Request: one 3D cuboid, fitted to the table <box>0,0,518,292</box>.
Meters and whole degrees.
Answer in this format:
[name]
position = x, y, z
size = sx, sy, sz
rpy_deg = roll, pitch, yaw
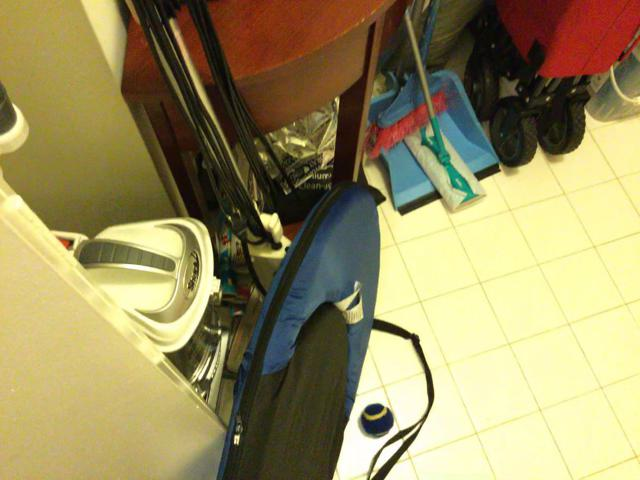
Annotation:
[table]
position = -0.080, -0.370, 1.040
size = 0.490, 0.830, 0.700
rpy_deg = 1, 67, -2
